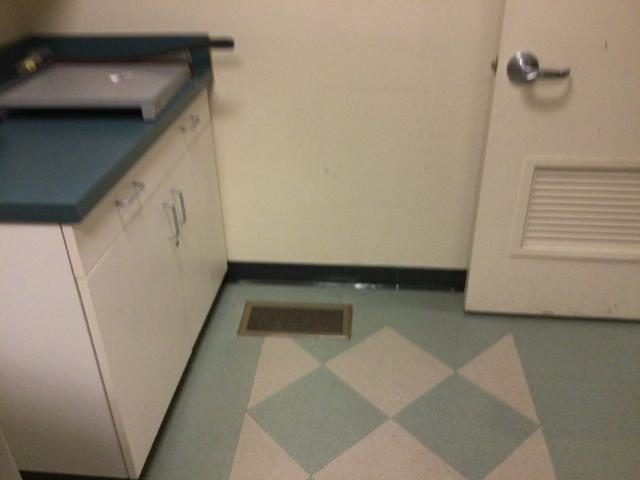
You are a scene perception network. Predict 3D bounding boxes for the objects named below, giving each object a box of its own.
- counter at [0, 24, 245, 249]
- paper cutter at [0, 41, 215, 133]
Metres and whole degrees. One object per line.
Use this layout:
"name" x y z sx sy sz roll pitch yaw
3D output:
"counter" -0.640 -0.330 1.470 0.690 0.220 1.030 -1 29 5
"paper cutter" -0.600 -0.440 1.620 0.490 0.110 0.490 -1 29 5
